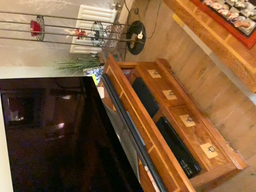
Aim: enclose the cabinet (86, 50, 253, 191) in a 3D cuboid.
[{"bbox_3d":[0.210,0.240,1.720,1.170,0.630,0.580,60,139,33],"label":"cabinet"}]
